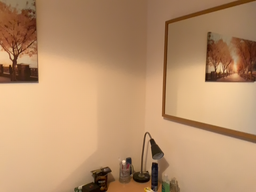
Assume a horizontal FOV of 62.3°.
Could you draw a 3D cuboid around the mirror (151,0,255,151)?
[{"bbox_3d":[0.460,-0.150,1.320,0.070,0.770,0.880,-3,7,-33],"label":"mirror"}]
